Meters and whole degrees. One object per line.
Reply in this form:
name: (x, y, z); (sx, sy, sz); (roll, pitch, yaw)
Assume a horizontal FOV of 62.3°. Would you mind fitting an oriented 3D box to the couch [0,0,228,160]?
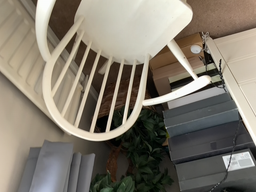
couch: (-0.080, -0.240, 0.900); (0.500, 0.720, 0.540); (27, 129, -25)
